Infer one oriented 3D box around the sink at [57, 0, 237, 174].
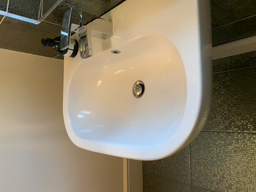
[{"bbox_3d":[-0.020,-0.040,0.730,0.660,0.170,0.450,-8,81,48],"label":"sink"}]
